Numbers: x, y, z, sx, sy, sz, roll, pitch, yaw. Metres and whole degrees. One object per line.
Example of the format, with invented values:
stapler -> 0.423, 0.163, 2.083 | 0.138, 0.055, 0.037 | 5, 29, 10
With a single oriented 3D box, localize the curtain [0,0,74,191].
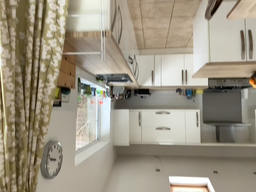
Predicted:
curtain -> -0.700, -0.290, 1.550 | 0.430, 2.220, 0.510 | 0, 177, 4

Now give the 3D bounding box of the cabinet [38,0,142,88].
cabinet -> -0.200, -0.760, 3.350 | 0.600, 0.920, 3.380 | 0, 177, 7
